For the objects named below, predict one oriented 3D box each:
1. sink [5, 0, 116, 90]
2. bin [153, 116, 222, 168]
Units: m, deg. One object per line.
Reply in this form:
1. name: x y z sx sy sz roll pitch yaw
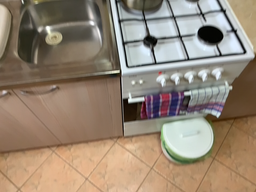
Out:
1. sink: -0.270 -0.270 0.930 0.380 0.180 0.410 -7 61 -5
2. bin: 0.350 0.300 1.340 0.310 0.310 0.210 -6 61 -4
